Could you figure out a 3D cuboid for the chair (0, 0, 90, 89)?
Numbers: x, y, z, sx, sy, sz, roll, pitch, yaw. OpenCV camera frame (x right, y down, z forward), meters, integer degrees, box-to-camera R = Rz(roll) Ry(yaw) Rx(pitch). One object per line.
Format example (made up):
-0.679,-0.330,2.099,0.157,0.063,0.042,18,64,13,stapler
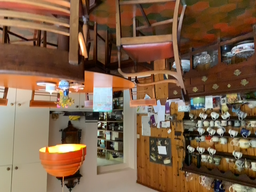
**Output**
-0.450,-0.510,0.940,0.490,0.880,0.500,2,174,-18,chair
